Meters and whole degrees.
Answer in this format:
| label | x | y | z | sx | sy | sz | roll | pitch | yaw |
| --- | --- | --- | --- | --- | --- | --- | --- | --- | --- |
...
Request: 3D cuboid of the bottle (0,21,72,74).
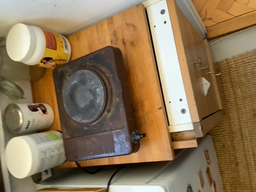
| label | x | y | z | sx | sy | sz | roll | pitch | yaw |
| --- | --- | --- | --- | --- | --- | --- | --- | --- | --- |
| bottle | -0.310 | -0.150 | 0.710 | 0.170 | 0.150 | 0.110 | -9 | 86 | 27 |
